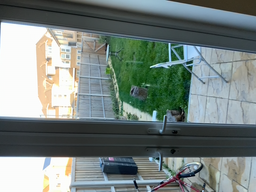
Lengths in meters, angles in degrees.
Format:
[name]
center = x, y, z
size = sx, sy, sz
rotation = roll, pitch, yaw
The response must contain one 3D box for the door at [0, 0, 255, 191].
[door]
center = 0.170, 0.230, 1.350
size = 0.100, 2.240, 1.430
rotation = -177, 91, -76
